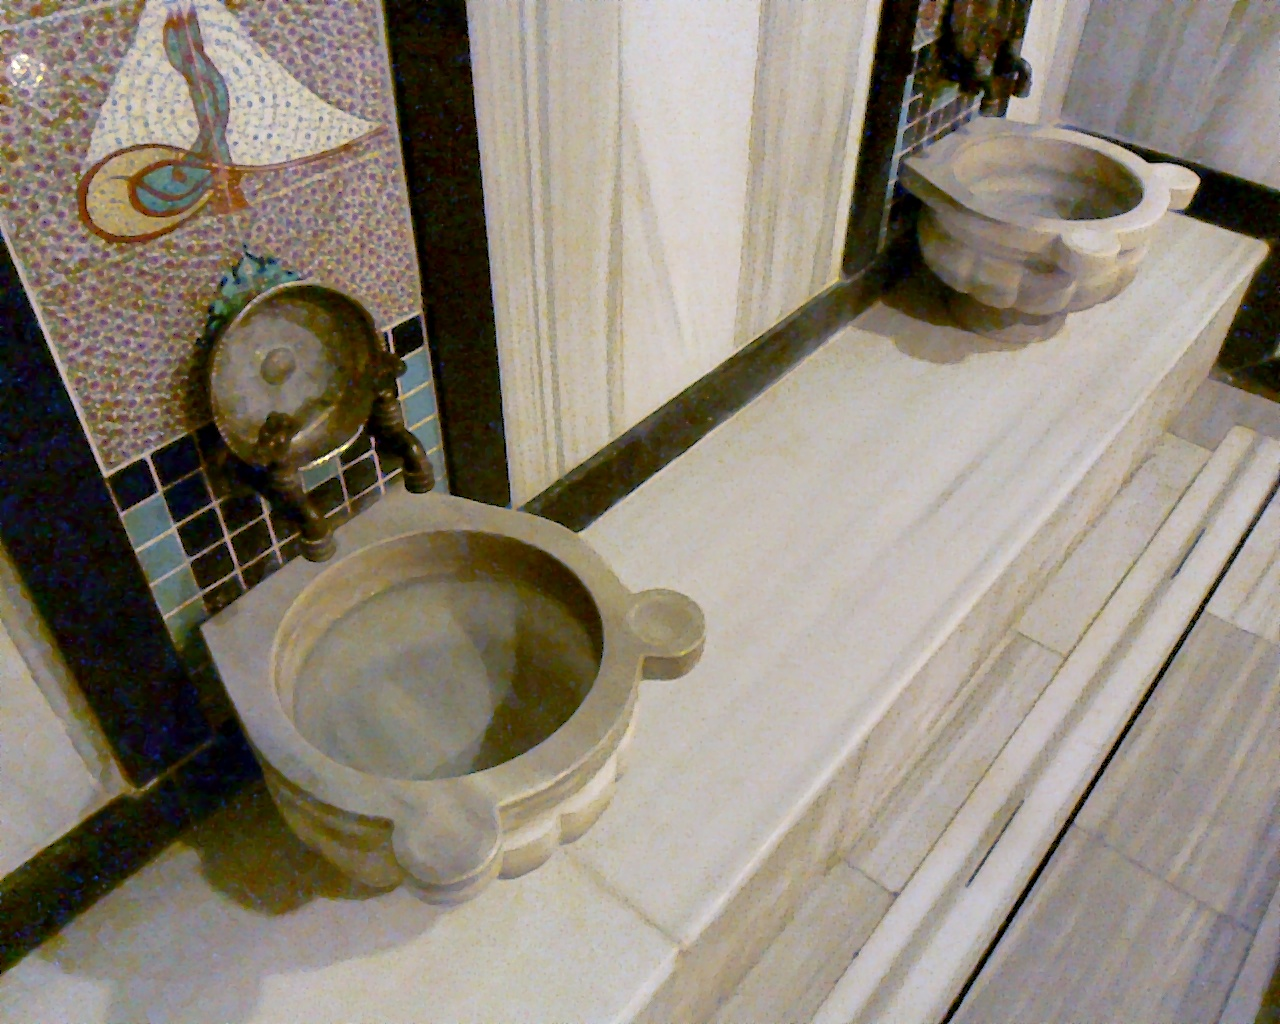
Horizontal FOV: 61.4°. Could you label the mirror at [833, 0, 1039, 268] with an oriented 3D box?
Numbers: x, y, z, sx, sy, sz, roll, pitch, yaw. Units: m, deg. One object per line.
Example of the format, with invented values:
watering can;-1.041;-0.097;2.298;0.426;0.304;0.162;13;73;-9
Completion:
mirror;0.600;-1.040;1.890;0.050;1.090;0.620;30;51;27
